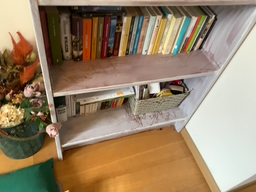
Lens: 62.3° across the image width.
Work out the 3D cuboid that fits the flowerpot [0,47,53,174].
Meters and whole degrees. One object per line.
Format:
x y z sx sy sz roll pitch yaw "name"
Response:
-0.620 0.110 1.130 0.310 0.640 0.310 -12 55 -22 "flowerpot"
